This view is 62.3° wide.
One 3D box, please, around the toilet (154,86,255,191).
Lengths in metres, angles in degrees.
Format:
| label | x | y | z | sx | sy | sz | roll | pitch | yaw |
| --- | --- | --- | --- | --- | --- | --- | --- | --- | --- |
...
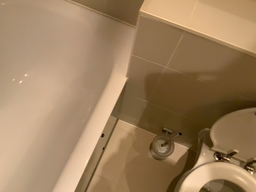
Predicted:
| label | x | y | z | sx | sy | sz | roll | pitch | yaw |
| --- | --- | --- | --- | --- | --- | --- | --- | --- | --- |
| toilet | 0.380 | 0.390 | 0.830 | 0.380 | 0.770 | 0.490 | 19 | 67 | 1 |
